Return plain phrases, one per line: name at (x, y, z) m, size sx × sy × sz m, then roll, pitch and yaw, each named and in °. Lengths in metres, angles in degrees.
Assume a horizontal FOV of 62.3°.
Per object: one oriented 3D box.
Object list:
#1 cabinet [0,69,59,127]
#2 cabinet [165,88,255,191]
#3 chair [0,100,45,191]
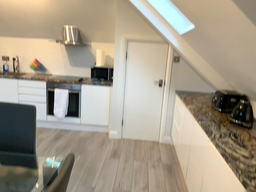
cabinet at (-2.190, -0.010, 3.980) m, size 1.600 × 0.890 × 0.580 m, roll 5°, pitch 13°, yaw 2°
cabinet at (0.870, 0.770, 1.540) m, size 0.740 × 0.880 × 3.870 m, roll 5°, pitch 13°, yaw 3°
chair at (-0.940, 0.600, 1.510) m, size 0.480 × 1.040 × 0.530 m, roll 4°, pitch 13°, yaw 0°
